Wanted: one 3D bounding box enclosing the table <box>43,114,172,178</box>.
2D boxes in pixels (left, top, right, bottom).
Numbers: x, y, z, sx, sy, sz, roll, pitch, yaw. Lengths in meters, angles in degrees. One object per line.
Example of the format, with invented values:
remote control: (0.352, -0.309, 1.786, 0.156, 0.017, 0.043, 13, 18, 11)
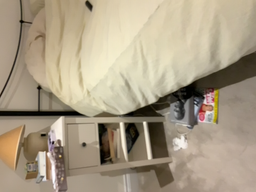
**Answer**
table: (-0.170, 0.360, 1.610, 0.530, 0.800, 0.350, -26, 65, 56)
